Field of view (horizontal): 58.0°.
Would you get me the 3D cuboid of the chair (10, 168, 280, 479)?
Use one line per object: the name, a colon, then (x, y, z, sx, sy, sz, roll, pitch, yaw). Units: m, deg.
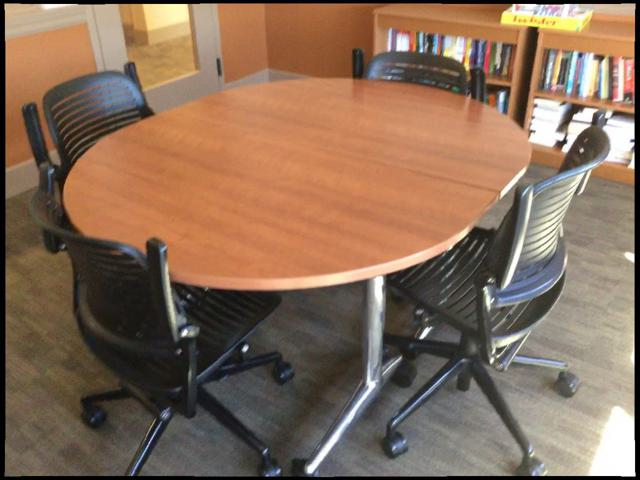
chair: (-0.429, 0.261, 1.470, 0.419, 0.661, 0.510, -19, 36, -25)

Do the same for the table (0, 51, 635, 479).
table: (0.010, 0.040, 1.850, 1.319, 0.771, 1.489, 21, 39, 32)

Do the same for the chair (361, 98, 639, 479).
chair: (0.449, 0.170, 1.530, 0.439, 0.881, 0.560, 20, 38, 31)
